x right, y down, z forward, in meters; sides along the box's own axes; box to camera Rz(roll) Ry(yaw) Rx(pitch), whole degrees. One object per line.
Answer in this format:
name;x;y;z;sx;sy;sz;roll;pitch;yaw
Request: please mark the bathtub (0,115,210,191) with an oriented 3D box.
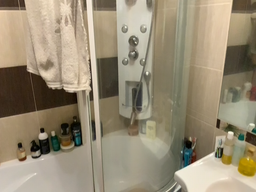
bathtub;-0.450;0.760;1.350;1.710;0.660;0.850;-11;22;-28
